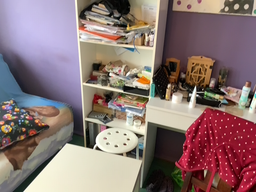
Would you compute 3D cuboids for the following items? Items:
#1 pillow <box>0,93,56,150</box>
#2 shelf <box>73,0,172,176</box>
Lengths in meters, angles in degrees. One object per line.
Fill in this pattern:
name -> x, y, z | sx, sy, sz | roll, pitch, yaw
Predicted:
pillow -> -0.940, 0.170, 1.650 | 0.560, 0.140, 0.430 | 10, 26, 14
shelf -> -0.060, -0.240, 1.690 | 0.640, 1.820, 0.280 | 12, 26, 18
